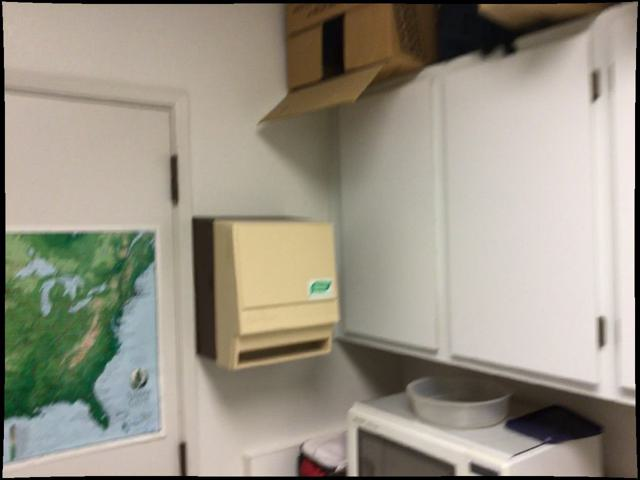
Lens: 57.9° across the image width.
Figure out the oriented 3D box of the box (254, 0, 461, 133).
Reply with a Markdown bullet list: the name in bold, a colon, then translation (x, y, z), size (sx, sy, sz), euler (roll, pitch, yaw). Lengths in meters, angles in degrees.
- **box**: translation (0.090, -0.581, 1.610), size (0.380, 0.470, 0.440), euler (-2, 2, -34)
